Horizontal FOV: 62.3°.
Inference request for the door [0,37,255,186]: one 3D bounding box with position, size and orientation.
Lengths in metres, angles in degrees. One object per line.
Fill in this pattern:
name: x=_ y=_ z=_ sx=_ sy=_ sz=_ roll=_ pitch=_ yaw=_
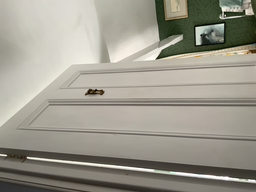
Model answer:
door: x=0.380 y=-0.040 z=0.930 sx=0.890 sy=1.970 sz=0.110 roll=-64 pitch=-33 yaw=-53
